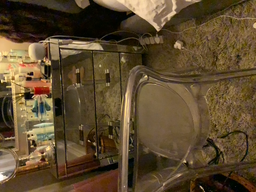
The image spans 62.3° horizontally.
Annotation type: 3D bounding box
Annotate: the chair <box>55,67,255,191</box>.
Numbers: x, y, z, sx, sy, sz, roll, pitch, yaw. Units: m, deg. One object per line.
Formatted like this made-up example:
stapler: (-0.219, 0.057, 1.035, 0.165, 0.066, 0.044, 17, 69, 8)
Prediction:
chair: (0.150, 0.090, 0.940, 0.400, 0.810, 0.400, 12, 103, 53)
